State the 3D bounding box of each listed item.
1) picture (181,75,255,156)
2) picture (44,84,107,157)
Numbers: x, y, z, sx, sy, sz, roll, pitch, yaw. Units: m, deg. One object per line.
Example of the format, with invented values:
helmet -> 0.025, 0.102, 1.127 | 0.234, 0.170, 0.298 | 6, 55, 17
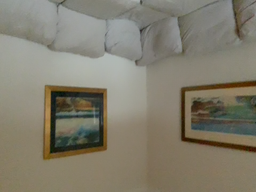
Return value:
picture -> 1.060, 0.200, 2.410 | 0.040, 0.800, 1.110 | 2, 178, -38
picture -> -0.630, 0.290, 2.710 | 0.830, 0.840, 0.030 | 2, 178, -38
